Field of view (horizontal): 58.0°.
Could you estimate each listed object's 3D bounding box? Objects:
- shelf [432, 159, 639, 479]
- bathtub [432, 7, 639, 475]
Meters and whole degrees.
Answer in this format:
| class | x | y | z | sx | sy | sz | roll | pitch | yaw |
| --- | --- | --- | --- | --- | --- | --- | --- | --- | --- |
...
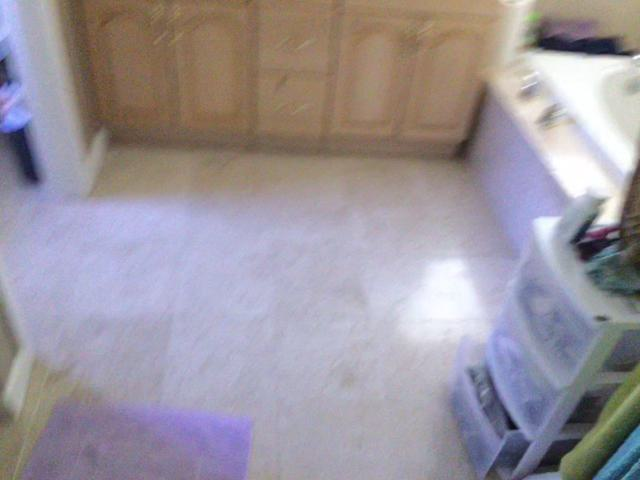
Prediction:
| class | x | y | z | sx | sy | sz | roll | pitch | yaw |
| --- | --- | --- | --- | --- | --- | --- | --- | --- | --- |
| shelf | 0.540 | 0.230 | 1.330 | 0.310 | 0.730 | 0.380 | 0 | 41 | -9 |
| bathtub | 1.270 | -0.200 | 2.070 | 1.210 | 0.540 | 1.830 | 0 | 41 | -8 |
